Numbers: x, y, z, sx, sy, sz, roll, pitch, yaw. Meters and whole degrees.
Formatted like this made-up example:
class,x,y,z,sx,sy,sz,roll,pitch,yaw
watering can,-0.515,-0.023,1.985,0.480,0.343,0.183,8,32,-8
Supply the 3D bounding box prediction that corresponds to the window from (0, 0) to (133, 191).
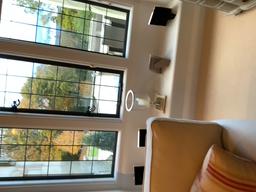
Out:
class,x,y,z,sx,sy,sz,roll,pitch,yaw
window,-0.760,-0.060,2.440,0.090,1.480,2.250,-170,85,-70
